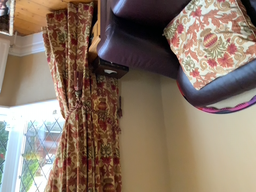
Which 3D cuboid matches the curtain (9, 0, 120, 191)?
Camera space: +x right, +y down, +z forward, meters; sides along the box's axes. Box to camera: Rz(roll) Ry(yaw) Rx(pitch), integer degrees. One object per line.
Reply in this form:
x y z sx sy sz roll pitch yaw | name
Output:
-0.450 0.570 1.540 0.740 2.800 0.250 -8 159 14 | curtain
